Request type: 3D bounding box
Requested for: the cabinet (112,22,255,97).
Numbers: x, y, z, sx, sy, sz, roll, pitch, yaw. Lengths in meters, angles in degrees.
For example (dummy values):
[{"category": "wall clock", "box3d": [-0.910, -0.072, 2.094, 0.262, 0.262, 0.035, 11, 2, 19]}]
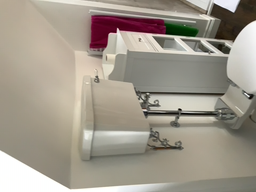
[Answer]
[{"category": "cabinet", "box3d": [0.490, -0.300, 1.790, 0.490, 1.160, 0.380, -109, 25, -55]}]
